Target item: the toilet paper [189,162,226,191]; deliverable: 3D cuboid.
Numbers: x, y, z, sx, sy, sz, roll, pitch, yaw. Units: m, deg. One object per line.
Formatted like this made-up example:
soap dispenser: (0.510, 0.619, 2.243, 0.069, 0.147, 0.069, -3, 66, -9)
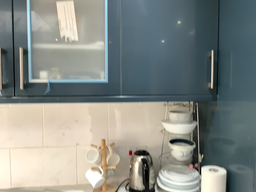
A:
toilet paper: (0.370, 0.460, 1.000, 0.130, 0.260, 0.100, -1, 3, -8)
